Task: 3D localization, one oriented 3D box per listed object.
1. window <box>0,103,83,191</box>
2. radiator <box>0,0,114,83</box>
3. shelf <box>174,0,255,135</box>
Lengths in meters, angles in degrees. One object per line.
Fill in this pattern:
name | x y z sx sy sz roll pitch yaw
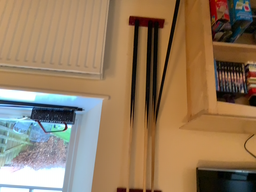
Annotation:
window | -0.850 0.590 1.700 0.830 1.050 0.080 4 162 -3
radiator | -0.730 -0.510 1.360 1.250 0.760 0.100 5 162 -4
shelf | 0.820 -0.360 1.320 0.950 1.140 0.440 5 162 -4
